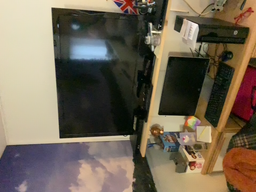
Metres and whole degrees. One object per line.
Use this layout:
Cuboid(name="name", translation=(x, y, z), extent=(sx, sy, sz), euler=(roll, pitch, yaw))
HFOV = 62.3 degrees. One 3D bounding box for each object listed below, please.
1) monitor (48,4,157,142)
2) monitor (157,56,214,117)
Cuboid(name="monitor", translation=(-0.180, -0.090, 1.460), extent=(0.050, 0.620, 0.960), euler=(-113, 25, -57))
Cuboid(name="monitor", translation=(0.440, -0.060, 1.670), extent=(0.040, 0.340, 0.490), euler=(-100, 15, -62))
